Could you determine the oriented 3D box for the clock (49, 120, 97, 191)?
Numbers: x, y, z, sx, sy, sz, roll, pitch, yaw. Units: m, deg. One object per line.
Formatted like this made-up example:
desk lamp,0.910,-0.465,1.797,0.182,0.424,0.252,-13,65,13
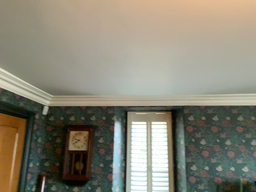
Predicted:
clock,-0.610,0.660,2.430,0.450,0.750,0.180,-1,-14,6
